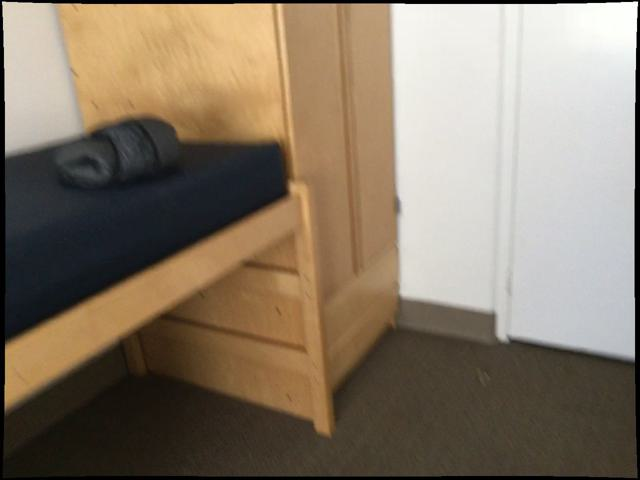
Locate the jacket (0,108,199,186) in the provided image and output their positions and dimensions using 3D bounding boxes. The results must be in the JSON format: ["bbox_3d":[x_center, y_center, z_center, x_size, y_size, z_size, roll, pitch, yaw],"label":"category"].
[{"bbox_3d":[-0.589,-0.250,1.480,0.500,0.130,0.240,7,25,30],"label":"jacket"}]
